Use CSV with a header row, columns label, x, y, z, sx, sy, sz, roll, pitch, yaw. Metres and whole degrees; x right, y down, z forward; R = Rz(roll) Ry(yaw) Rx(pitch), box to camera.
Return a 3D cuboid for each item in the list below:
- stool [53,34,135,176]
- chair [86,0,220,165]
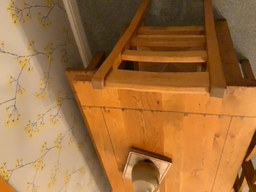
label,x,y,z,sx,sy,sz,roll,pitch,yaw
stool,-0.190,0.160,1.840,0.270,0.450,1.260,3,133,16
chair,0.180,-0.190,1.060,0.390,0.890,0.400,6,133,13
